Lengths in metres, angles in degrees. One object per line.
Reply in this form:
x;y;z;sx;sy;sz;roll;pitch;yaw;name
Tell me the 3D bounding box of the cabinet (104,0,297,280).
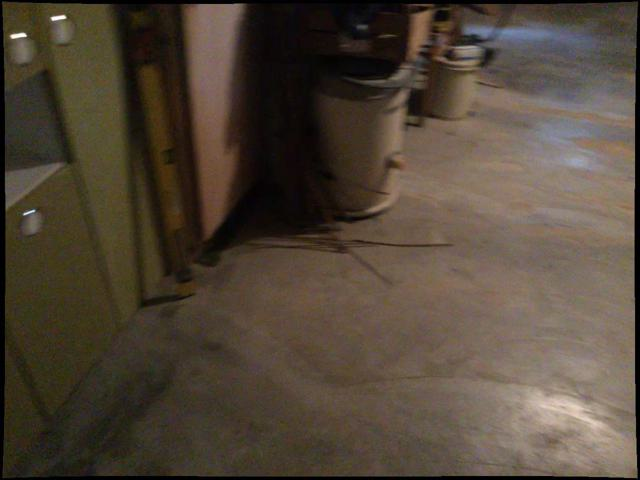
-0.320;-0.761;1.680;0.270;1.771;0.640;13;42;14;cabinet
